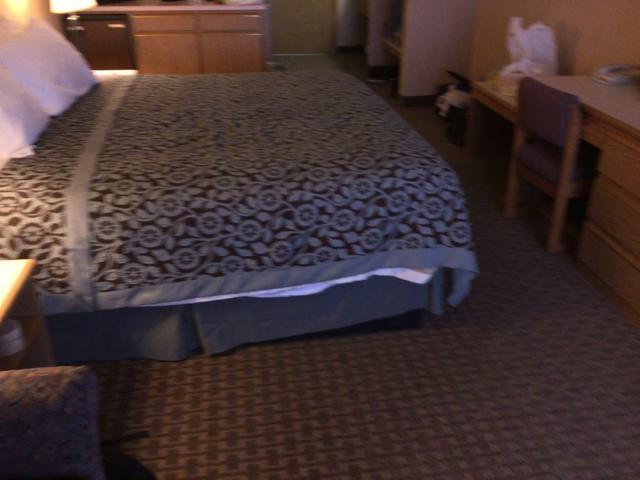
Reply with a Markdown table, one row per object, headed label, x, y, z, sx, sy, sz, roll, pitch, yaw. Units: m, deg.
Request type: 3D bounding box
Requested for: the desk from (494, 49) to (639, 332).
| label | x | y | z | sx | sy | sz | roll | pitch | yaw |
| --- | --- | --- | --- | --- | --- | --- | --- | --- | --- |
| desk | 1.460 | -0.260 | 2.540 | 0.640 | 0.810 | 1.600 | -7 | 28 | -8 |
